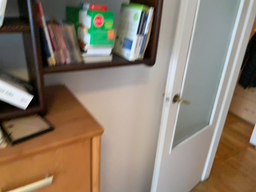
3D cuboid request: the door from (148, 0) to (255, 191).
[{"bbox_3d":[0.500,0.050,1.500,0.690,1.850,0.100,-16,32,-37],"label":"door"}]
